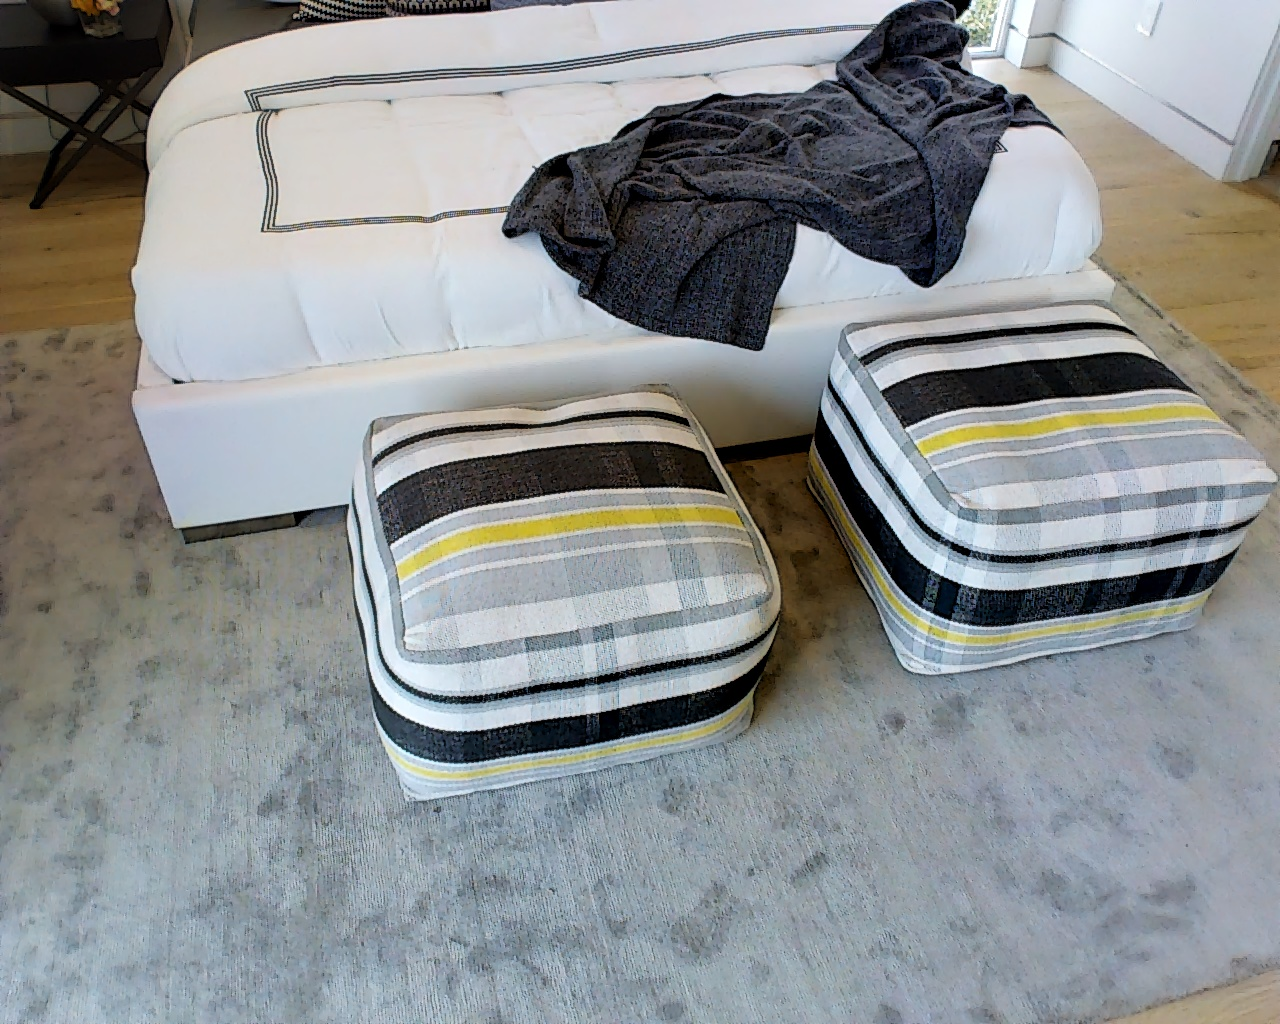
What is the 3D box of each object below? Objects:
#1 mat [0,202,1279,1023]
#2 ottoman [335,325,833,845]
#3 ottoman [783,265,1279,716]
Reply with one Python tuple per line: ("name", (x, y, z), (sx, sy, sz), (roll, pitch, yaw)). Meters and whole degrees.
("mat", (0.110, 0.040, 2.350), (3.179, 0.040, 2.430), (-9, 43, -11))
("ottoman", (-0.140, 0.090, 1.950), (0.690, 0.460, 0.720), (-9, 43, -11))
("ottoman", (0.760, -0.080, 2.160), (0.690, 0.450, 0.720), (-9, 43, -11))
